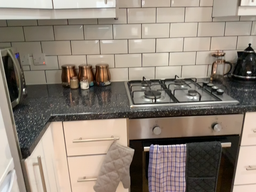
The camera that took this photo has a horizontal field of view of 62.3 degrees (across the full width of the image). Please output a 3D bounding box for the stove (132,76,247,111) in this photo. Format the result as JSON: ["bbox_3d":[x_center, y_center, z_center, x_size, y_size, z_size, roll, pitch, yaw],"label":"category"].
[{"bbox_3d":[0.310,-0.040,1.320,0.520,0.020,0.590,-3,18,-4],"label":"stove"}]
